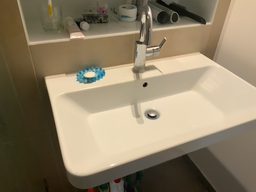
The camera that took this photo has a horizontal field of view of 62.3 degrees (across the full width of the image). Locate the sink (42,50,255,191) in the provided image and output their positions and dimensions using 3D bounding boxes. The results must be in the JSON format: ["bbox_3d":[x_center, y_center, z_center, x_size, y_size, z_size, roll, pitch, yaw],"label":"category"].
[{"bbox_3d":[0.120,0.060,0.830,0.780,0.200,0.490,-12,39,-21],"label":"sink"}]
